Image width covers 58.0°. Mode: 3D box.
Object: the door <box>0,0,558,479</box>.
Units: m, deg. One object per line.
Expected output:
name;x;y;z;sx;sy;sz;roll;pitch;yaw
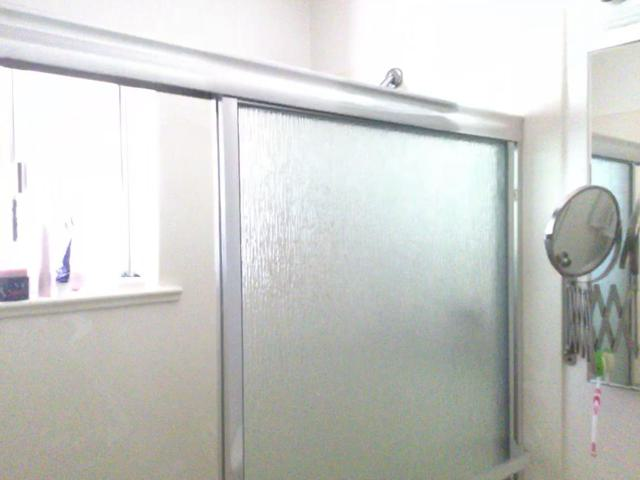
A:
door;-0.100;0.450;0.810;1.410;1.420;0.130;-1;0;-38
